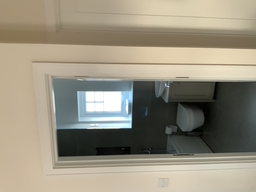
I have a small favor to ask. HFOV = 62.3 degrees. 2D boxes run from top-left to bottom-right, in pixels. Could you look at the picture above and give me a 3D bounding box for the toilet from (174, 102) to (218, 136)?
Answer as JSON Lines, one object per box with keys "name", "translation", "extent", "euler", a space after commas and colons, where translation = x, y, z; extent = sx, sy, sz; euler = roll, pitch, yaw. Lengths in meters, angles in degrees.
{"name": "toilet", "translation": [1.040, 0.340, 3.310], "extent": [0.510, 0.450, 0.370], "euler": [-112, 23, -74]}
